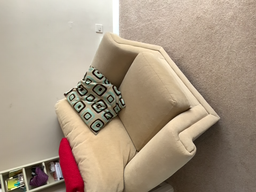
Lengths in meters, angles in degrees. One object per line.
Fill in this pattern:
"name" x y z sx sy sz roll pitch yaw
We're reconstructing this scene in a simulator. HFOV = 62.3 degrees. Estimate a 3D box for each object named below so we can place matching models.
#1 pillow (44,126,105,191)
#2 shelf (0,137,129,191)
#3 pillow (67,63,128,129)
"pillow" -0.480 0.620 1.790 0.530 0.230 0.460 51 132 34
"shelf" -0.830 0.750 2.030 0.230 1.960 0.230 10 103 51
"pillow" -0.260 -0.010 1.780 0.270 0.430 0.480 101 164 -52
